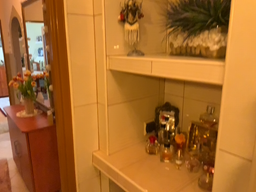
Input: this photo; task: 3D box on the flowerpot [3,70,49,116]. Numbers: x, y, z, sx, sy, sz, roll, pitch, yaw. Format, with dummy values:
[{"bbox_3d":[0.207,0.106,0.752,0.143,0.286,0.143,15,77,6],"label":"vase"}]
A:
[{"bbox_3d":[-1.220,-0.060,2.530,0.390,0.430,0.450,-9,17,-34],"label":"flowerpot"}]
